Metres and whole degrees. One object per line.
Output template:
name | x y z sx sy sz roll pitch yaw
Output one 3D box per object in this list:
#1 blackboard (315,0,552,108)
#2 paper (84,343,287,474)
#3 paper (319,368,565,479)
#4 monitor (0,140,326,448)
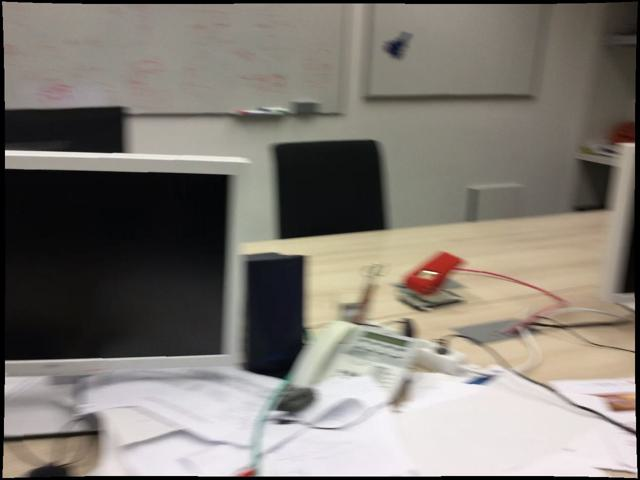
blackboard | 0.689 -1.231 3.410 1.439 0.861 0.150 -4 18 -17
paper | -0.240 0.280 1.020 0.310 0.050 0.250 -4 18 -17
paper | 0.190 0.340 1.020 0.290 0.020 0.350 -4 18 -17
monitor | -0.420 0.080 0.970 0.829 0.460 0.190 -3 18 -12
